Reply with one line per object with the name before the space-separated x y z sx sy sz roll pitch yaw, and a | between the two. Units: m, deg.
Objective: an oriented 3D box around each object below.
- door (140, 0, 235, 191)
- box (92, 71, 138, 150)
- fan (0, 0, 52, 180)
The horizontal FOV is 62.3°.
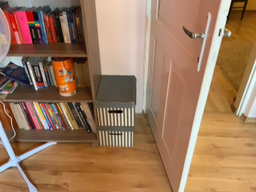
door | 0.230 -0.380 1.140 0.110 2.000 0.880 -4 35 -6
box | -0.080 0.110 1.710 0.300 0.480 0.390 2 35 3
fan | -0.860 -0.020 1.280 0.450 1.160 0.390 1 35 1
